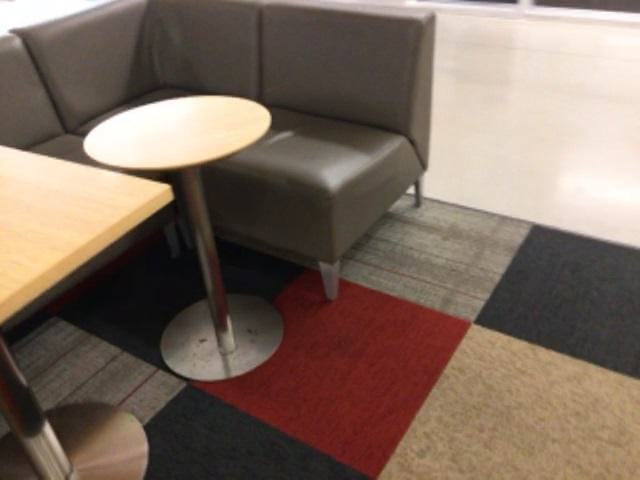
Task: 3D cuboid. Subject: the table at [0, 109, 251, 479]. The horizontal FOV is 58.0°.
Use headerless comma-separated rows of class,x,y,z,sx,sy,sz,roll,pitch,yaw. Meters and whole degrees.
table,-0.650,0.260,1.200,0.660,0.810,0.670,13,37,24
